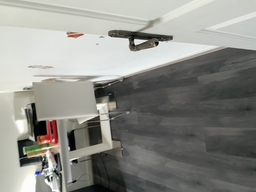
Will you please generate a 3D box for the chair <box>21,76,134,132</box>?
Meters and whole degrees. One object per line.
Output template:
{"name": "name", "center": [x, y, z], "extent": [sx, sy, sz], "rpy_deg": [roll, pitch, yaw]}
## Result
{"name": "chair", "center": [-0.520, 0.070, 2.240], "extent": [0.520, 0.990, 0.420], "rpy_deg": [-19, 78, 53]}
